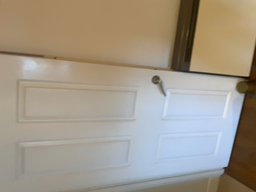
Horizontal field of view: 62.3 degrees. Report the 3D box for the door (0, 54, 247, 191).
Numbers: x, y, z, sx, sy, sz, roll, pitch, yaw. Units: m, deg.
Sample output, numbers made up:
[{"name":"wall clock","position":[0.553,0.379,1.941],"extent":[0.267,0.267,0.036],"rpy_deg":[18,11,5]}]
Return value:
[{"name":"door","position":[-0.030,0.210,1.290],"extent":[0.050,1.920,0.780],"rpy_deg":[-151,65,-62]}]
